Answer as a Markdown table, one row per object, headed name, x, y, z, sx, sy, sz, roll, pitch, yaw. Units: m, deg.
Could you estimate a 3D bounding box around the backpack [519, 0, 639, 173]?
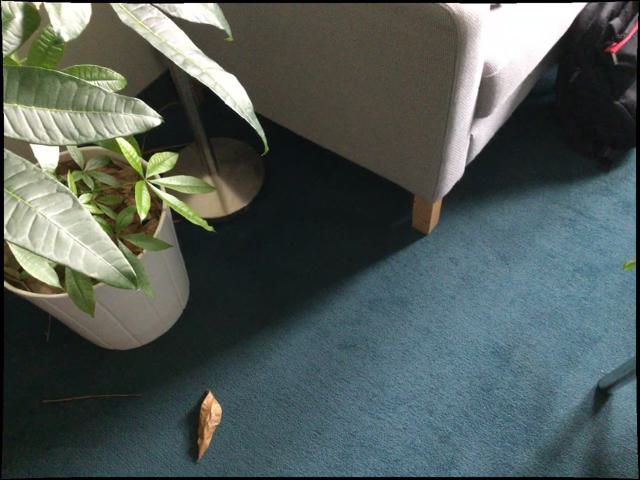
| name | x | y | z | sx | sy | sz | roll | pitch | yaw |
| --- | --- | --- | --- | --- | --- | --- | --- | --- | --- |
| backpack | 0.728 | -0.431 | 1.400 | 0.290 | 0.360 | 0.270 | 38 | 67 | 24 |
